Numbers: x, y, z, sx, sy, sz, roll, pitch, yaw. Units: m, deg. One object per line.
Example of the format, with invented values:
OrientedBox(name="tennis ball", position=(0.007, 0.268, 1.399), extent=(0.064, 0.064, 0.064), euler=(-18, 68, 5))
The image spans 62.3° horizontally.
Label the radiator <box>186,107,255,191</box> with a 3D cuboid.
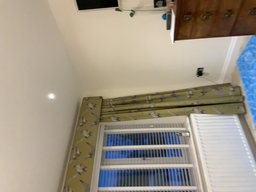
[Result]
OrientedBox(name="radiator", position=(1.130, 0.660, 2.510), extent=(0.110, 0.680, 1.200), euler=(81, -173, -50))
